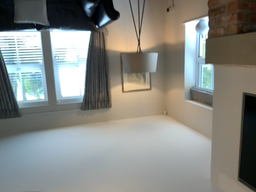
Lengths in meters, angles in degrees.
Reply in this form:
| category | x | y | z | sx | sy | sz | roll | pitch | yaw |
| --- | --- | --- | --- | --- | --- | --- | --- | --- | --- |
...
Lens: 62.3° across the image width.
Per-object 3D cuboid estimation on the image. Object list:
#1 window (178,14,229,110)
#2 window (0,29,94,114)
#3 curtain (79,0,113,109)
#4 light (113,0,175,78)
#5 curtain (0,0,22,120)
| category | x | y | z | sx | sy | sz | roll | pitch | yaw |
| --- | --- | --- | --- | --- | --- | --- | --- | --- | --- |
| window | 1.130 | -0.520 | 3.340 | 0.300 | 1.310 | 0.820 | -5 | -169 | -15 |
| window | -1.410 | -0.470 | 3.870 | 1.460 | 1.410 | 0.310 | -5 | -169 | -16 |
| curtain | -0.570 | -0.880 | 3.780 | 0.480 | 2.220 | 0.140 | -6 | -169 | -19 |
| light | 0.220 | -1.290 | 3.580 | 0.800 | 1.850 | 1.010 | -3 | -169 | -9 |
| curtain | -2.140 | -0.730 | 3.330 | 0.590 | 2.270 | 0.150 | -5 | -169 | -18 |
